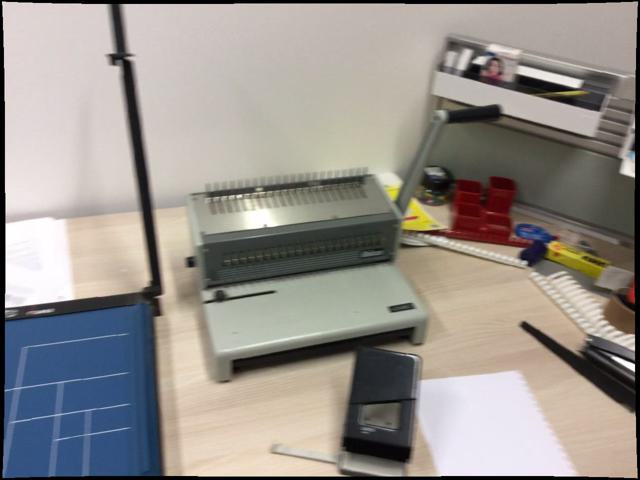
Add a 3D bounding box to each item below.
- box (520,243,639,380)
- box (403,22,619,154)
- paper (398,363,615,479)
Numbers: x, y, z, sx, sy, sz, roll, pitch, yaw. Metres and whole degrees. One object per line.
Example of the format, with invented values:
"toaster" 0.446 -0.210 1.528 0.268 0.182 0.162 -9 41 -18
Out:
"box" 0.569 0.130 1.180 0.130 0.040 0.330 -11 40 -19
"box" 0.410 -0.340 1.250 0.390 0.130 0.220 19 40 18
"paper" 0.290 0.330 0.910 0.230 0.030 0.260 -13 41 -21
